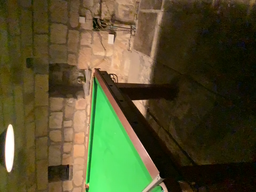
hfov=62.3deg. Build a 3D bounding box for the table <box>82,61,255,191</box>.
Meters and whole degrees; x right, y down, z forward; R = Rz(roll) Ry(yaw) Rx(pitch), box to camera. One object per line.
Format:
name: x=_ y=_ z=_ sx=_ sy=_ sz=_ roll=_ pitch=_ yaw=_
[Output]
table: x=0.090 y=1.400 z=2.210 sx=1.730 sy=0.880 sz=3.110 roll=-128 pitch=41 yaw=-60
